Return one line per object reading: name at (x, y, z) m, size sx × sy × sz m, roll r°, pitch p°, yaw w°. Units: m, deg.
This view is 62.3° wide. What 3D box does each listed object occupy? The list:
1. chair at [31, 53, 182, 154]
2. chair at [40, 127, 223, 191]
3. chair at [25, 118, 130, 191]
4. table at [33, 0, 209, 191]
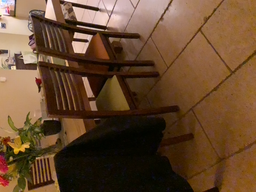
chair at (-0.180, 0.050, 1.680) m, size 0.490 × 0.990 × 0.480 m, roll -53°, pitch 49°, yaw 44°
chair at (0.020, 0.570, 1.380) m, size 0.480 × 0.990 × 0.460 m, roll -53°, pitch 49°, yaw 44°
chair at (-0.560, 0.620, 2.340) m, size 0.500 × 0.960 × 0.450 m, roll -60°, pitch 44°, yaw 40°
table at (-0.280, 0.360, 2.050) m, size 1.170 × 0.760 × 2.730 m, roll -54°, pitch 48°, yaw 44°
